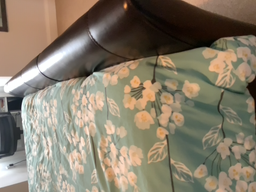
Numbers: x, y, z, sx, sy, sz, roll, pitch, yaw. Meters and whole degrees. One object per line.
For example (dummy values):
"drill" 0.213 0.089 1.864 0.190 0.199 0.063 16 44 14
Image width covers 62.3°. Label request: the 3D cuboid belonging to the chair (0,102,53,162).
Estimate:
"chair" -1.680 0.470 2.670 0.740 1.150 0.630 -12 84 51
